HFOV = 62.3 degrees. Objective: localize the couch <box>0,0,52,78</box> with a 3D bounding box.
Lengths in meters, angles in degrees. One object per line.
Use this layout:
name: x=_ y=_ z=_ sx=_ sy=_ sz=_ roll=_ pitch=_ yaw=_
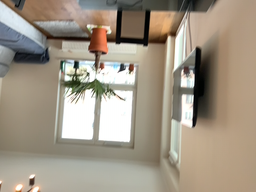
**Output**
couch: x=-2.310 y=-0.970 z=3.540 sx=1.050 sy=0.950 sz=2.300 roll=3 pitch=177 yaw=4
